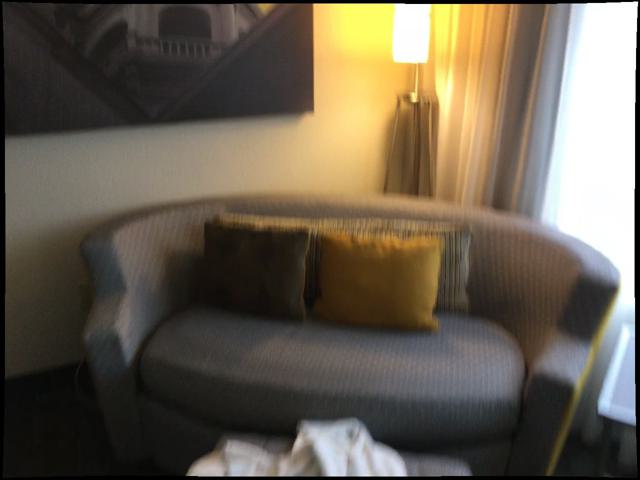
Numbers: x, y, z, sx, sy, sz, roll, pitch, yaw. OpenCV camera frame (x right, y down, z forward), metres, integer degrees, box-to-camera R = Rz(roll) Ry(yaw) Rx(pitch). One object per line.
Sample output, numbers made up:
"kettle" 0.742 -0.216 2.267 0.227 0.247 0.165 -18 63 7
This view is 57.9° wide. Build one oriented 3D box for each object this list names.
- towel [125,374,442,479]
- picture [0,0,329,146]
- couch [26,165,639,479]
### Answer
"towel" -0.070 0.601 1.450 0.669 0.160 0.460 8 24 17
"picture" -0.689 -0.861 2.240 1.599 0.871 0.110 -11 25 -27
"couch" 0.130 0.320 2.230 1.778 0.781 1.250 7 23 15
